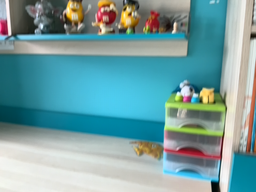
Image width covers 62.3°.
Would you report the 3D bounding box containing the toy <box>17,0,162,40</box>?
[{"bbox_3d":[-0.170,-0.320,0.900,0.600,0.150,0.150,5,12,18],"label":"toy"}]
